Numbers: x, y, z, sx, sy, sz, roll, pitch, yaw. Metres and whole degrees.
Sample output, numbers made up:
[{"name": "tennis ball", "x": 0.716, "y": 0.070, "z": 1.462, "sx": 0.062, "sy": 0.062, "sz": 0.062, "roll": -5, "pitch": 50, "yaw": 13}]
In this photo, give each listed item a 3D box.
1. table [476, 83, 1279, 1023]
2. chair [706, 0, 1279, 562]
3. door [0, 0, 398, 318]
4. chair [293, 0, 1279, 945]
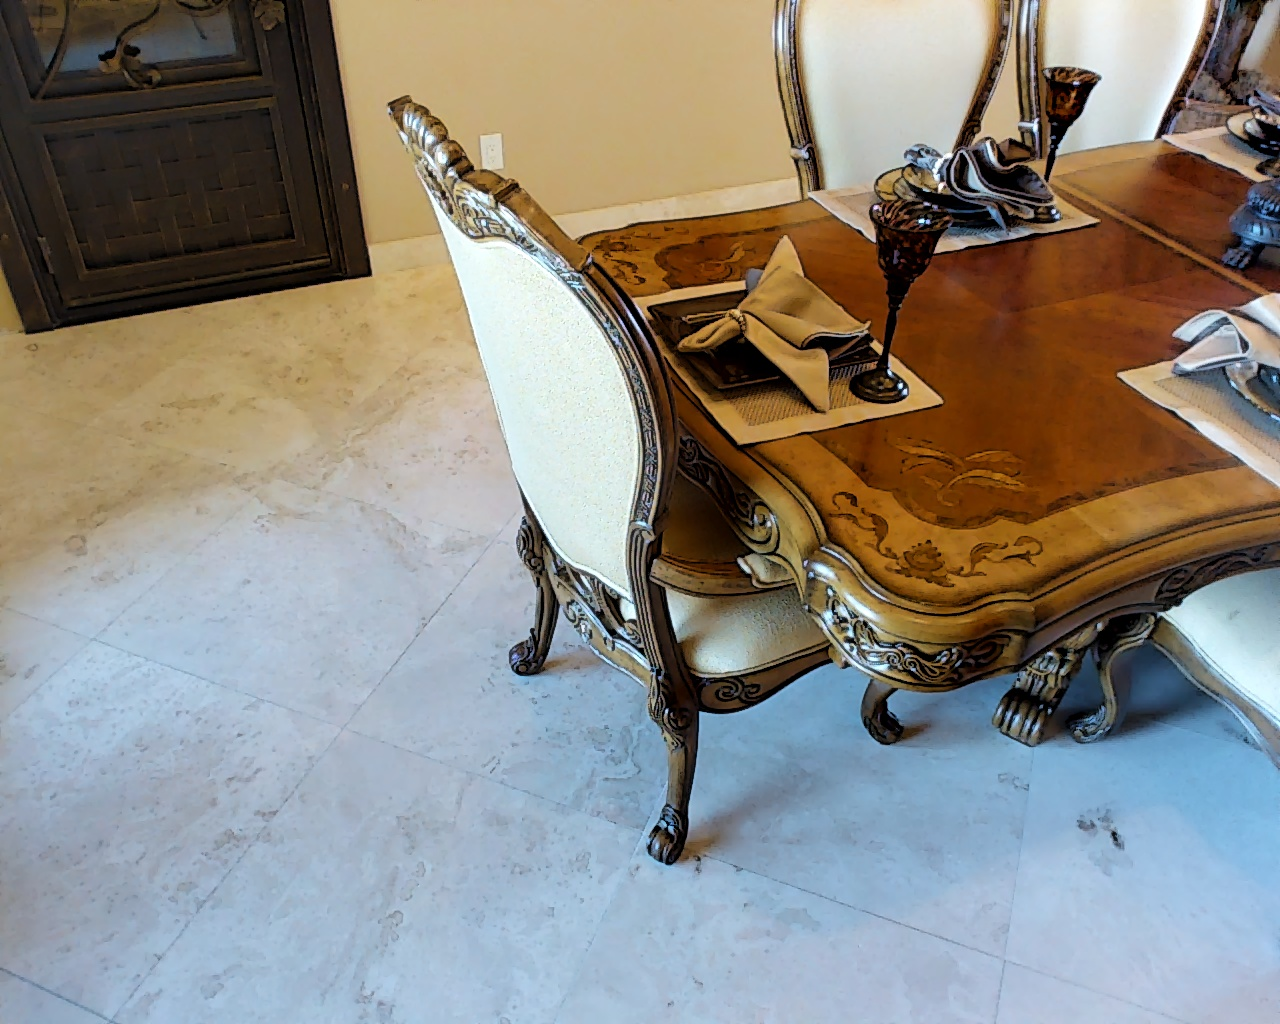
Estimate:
[{"name": "table", "x": 1.201, "y": -0.220, "z": 2.170, "sx": 2.751, "sy": 0.790, "sz": 1.200, "roll": -15, "pitch": 42, "yaw": -19}, {"name": "chair", "x": 0.960, "y": -0.760, "z": 2.510, "sx": 1.300, "sy": 1.200, "sz": 0.840, "roll": -15, "pitch": 42, "yaw": -20}, {"name": "door", "x": -1.341, "y": -1.719, "z": 2.580, "sx": 1.200, "sy": 2.529, "sz": 0.080, "roll": -15, "pitch": 42, "yaw": -19}, {"name": "chair", "x": 0.210, "y": -0.150, "z": 1.740, "sx": 1.180, "sy": 1.200, "sz": 0.750, "roll": -14, "pitch": 42, "yaw": -19}]
